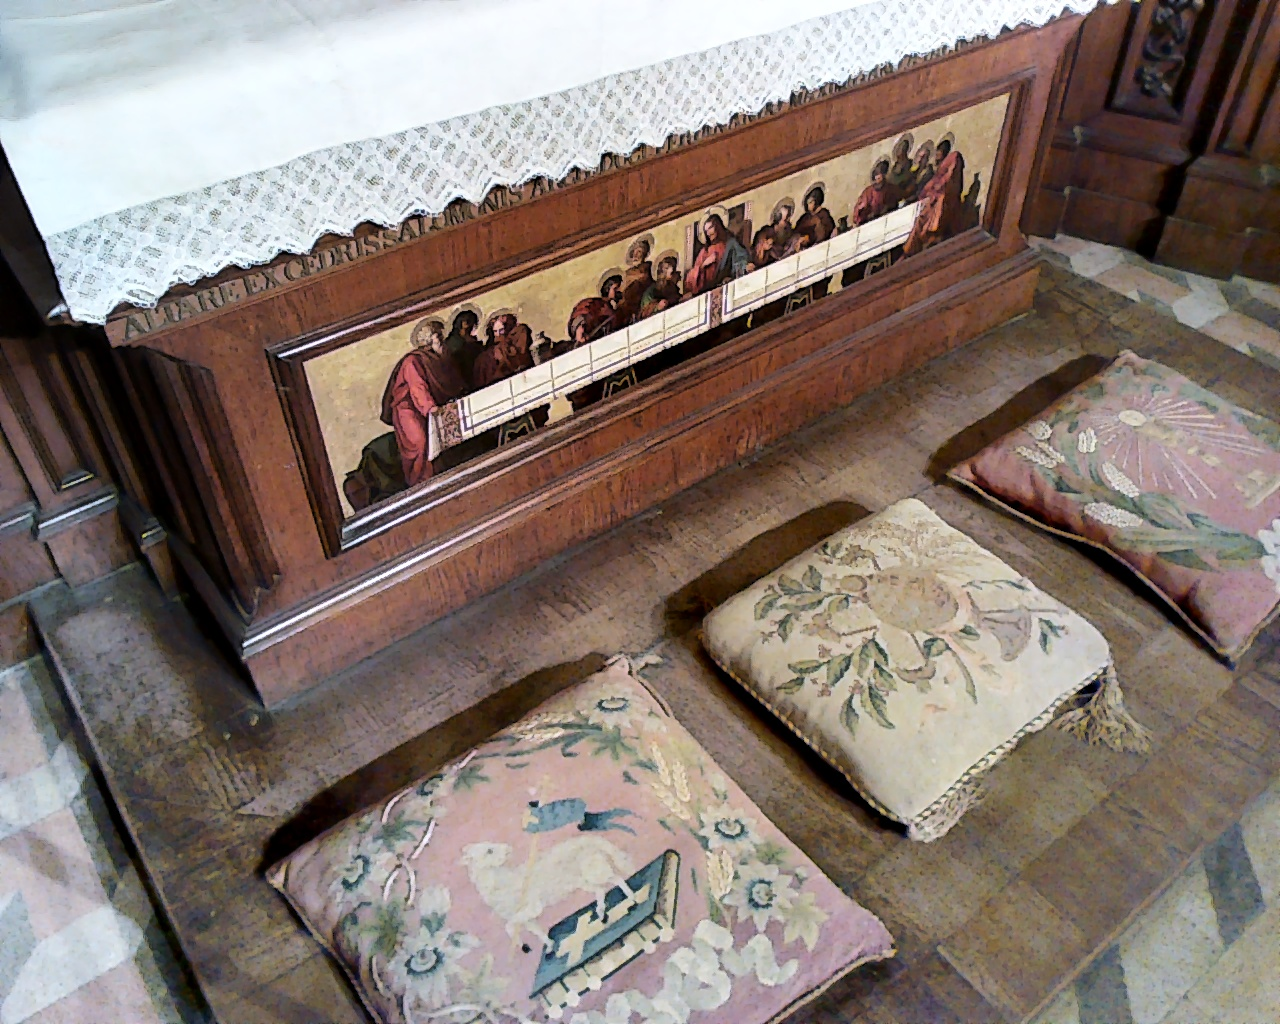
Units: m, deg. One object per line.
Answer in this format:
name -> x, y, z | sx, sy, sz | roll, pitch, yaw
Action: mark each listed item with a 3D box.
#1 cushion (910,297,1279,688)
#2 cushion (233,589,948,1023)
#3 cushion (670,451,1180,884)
cushion -> 0.970, -0.090, 1.930 | 0.660, 0.120, 0.660 | -27, 49, -26
cushion -> -0.080, 0.460, 1.360 | 0.620, 0.110, 0.650 | -27, 49, -26
cushion -> 0.410, 0.190, 1.630 | 0.500, 0.130, 0.540 | -27, 49, -26
